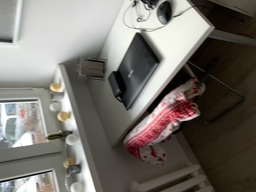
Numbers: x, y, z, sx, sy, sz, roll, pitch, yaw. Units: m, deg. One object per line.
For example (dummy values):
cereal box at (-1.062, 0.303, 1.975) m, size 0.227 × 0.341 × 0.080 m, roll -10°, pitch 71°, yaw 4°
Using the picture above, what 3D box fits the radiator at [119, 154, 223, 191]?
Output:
radiator at (0.360, 0.760, 1.400) m, size 0.250 × 0.630 × 0.570 m, roll -55°, pitch 49°, yaw 40°
